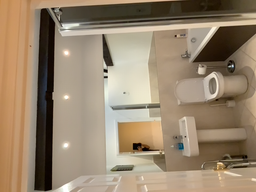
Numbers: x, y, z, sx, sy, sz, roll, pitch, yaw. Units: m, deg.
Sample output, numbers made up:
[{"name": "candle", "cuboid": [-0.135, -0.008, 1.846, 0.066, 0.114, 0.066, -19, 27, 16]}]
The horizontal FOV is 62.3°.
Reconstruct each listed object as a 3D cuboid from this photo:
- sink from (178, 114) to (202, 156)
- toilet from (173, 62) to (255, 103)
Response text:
[{"name": "sink", "cuboid": [0.850, 0.540, 2.960, 0.420, 0.170, 0.530, 90, 177, -78]}, {"name": "toilet", "cuboid": [1.140, -0.160, 2.980, 0.650, 0.860, 0.390, 90, 177, -78]}]
